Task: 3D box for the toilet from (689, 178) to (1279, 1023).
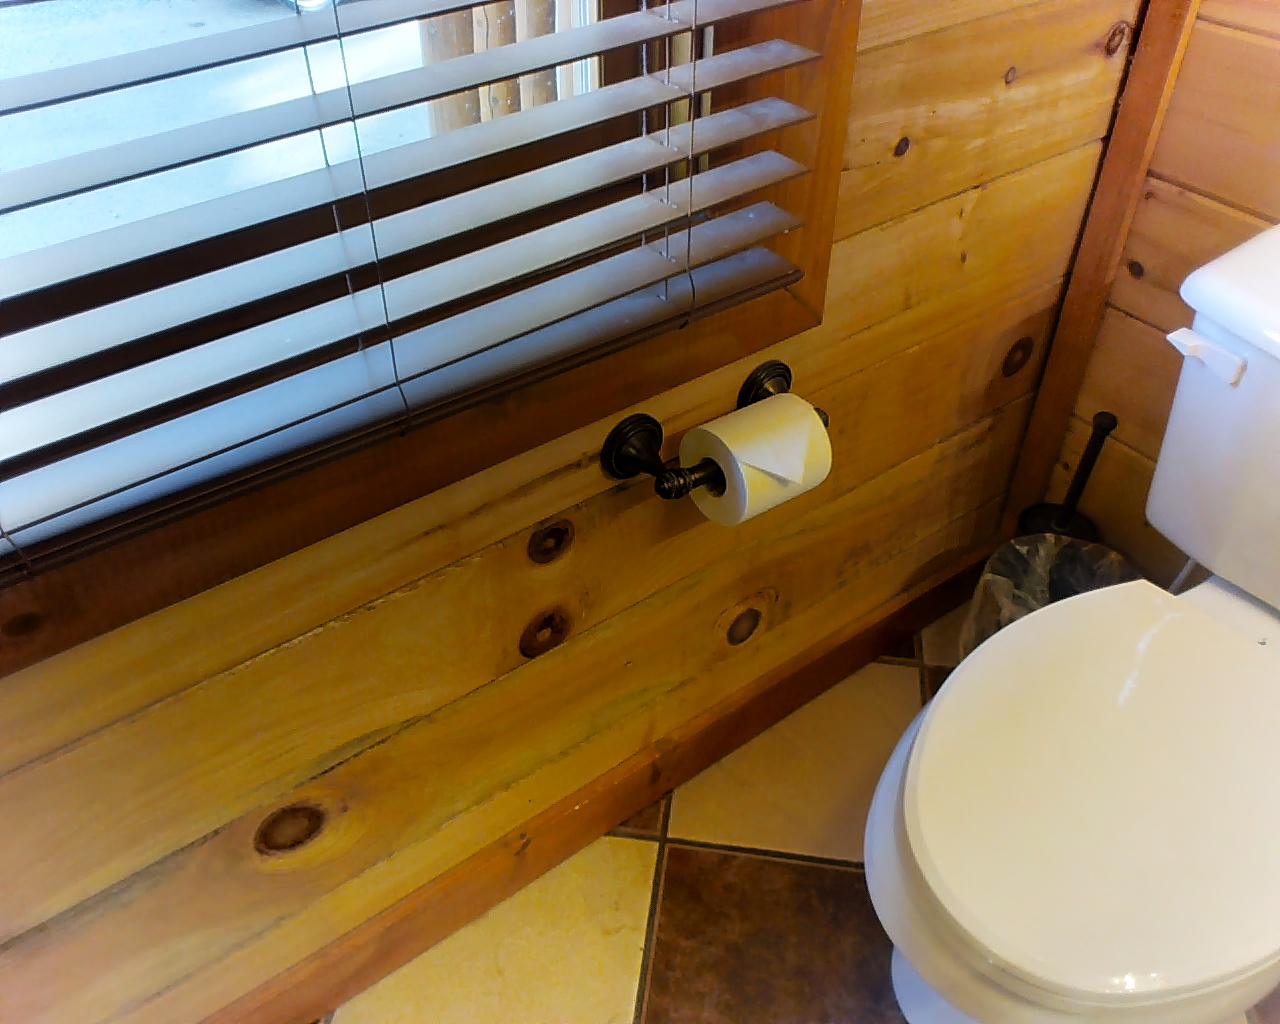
[{"bbox_3d":[0.540,0.200,1.050,0.790,0.700,0.550,-26,47,-26],"label":"toilet"}]
